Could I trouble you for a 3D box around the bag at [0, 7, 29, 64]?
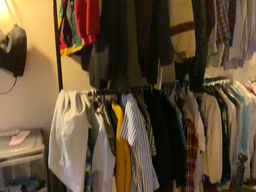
[{"bbox_3d":[-0.790,-0.370,1.320,0.280,0.320,0.170,-8,16,-24],"label":"bag"}]
